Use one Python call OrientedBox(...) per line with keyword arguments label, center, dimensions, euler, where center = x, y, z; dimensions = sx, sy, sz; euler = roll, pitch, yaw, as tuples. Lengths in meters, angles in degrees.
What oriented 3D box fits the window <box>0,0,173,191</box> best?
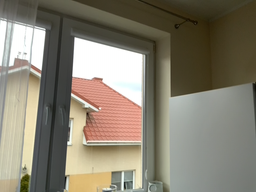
OrientedBox(label="window", center=(-0.420, 0.020, 1.420), dimensions=(1.800, 1.540, 0.230), euler=(8, -11, -34))
